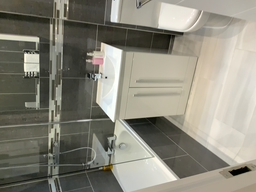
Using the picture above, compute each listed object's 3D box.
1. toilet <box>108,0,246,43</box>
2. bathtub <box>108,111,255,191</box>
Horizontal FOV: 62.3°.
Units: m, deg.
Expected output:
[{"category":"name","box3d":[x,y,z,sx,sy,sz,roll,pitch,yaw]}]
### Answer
[{"category":"toilet","box3d":[0.350,-0.690,1.640,0.620,0.800,0.390,38,124,56]},{"category":"bathtub","box3d":[0.420,0.790,1.860,1.640,0.560,0.690,37,123,56]}]
